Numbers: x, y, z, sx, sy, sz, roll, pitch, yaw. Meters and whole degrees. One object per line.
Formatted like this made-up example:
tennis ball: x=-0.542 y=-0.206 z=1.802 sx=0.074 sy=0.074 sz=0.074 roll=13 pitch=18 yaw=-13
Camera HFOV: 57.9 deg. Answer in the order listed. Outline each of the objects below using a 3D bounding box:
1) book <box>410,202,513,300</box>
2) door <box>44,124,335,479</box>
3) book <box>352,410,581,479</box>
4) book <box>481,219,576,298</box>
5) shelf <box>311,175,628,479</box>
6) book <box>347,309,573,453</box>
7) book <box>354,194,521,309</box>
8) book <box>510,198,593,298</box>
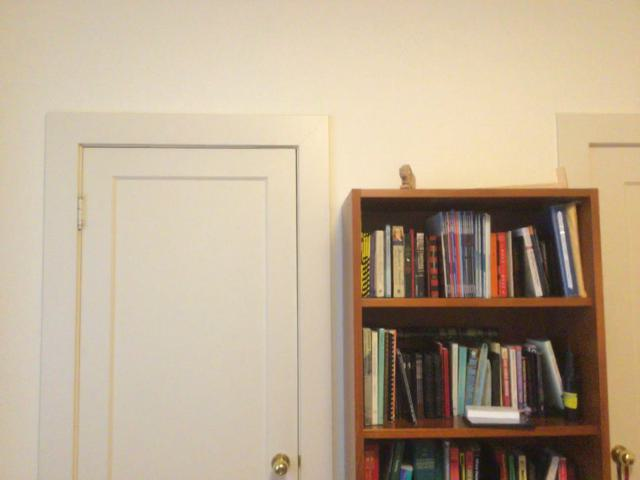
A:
book: x=0.440 y=0.040 z=1.850 sx=0.220 sy=0.270 sz=0.310 roll=-4 pitch=-3 yaw=-3
door: x=-0.400 y=0.630 z=1.910 sx=0.870 sy=1.980 sz=0.090 roll=-4 pitch=-3 yaw=-3
book: x=0.460 y=0.770 z=1.860 sx=0.670 sy=0.330 sz=0.220 roll=-4 pitch=-3 yaw=-3
book: x=0.650 y=0.060 z=1.830 sx=0.180 sy=0.220 sz=0.250 roll=-4 pitch=-3 yaw=-3
shelf: x=0.460 y=0.740 z=1.810 sx=0.830 sy=1.790 sz=0.360 roll=-4 pitch=-1 yaw=-4
book: x=0.420 y=0.430 z=1.850 sx=0.620 sy=0.350 sz=0.290 roll=-4 pitch=-3 yaw=-3
book: x=0.370 y=0.040 z=1.900 sx=0.470 sy=0.320 sz=0.230 roll=-4 pitch=-3 yaw=-3
book: x=0.730 y=0.030 z=1.850 sx=0.120 sy=0.290 sz=0.270 roll=-4 pitch=-3 yaw=-3
